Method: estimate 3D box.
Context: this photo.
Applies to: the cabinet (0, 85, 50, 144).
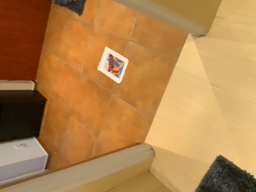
[{"bbox_3d":[-1.400,0.200,2.270,0.300,0.950,0.560,31,111,36],"label":"cabinet"}]
